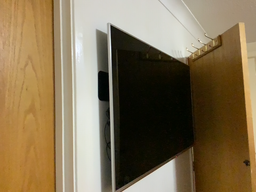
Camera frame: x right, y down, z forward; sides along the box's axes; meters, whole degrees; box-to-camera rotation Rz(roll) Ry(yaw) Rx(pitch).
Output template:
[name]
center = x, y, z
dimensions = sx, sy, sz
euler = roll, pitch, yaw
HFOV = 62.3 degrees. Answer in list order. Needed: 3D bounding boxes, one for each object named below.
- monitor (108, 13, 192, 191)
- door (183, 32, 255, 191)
[monitor]
center = 0.220, 0.040, 1.300
dimensions = 0.040, 0.690, 1.090
euler = -5, -5, 30
[door]
center = 0.590, 0.670, 1.430
dimensions = 0.080, 1.980, 0.730
euler = -2, -4, -5
